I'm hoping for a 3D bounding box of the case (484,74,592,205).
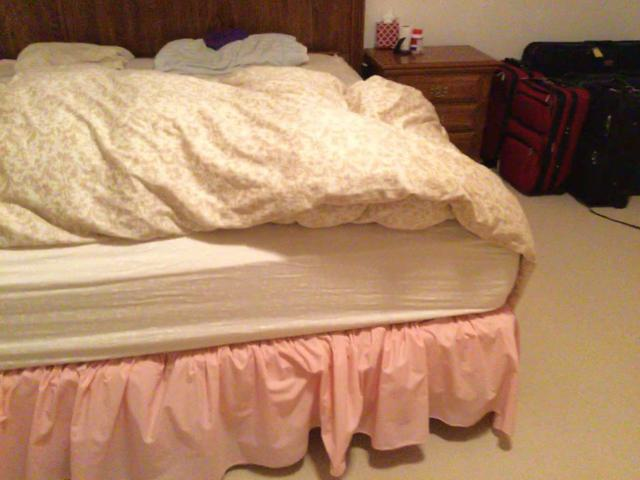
[{"bbox_3d":[1.130,-0.540,3.060,0.320,0.580,0.390,-6,26,-9],"label":"case"}]

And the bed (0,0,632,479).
[{"bbox_3d":[-0.570,-0.540,2.070,1.960,1.680,2.270,-7,24,-9],"label":"bed"}]
